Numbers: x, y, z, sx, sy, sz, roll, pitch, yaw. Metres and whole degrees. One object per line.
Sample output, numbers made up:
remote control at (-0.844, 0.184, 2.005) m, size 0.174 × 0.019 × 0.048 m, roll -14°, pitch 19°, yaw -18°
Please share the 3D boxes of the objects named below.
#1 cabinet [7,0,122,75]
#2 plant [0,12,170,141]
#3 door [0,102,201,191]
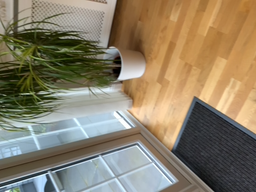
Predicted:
cabinet at (-0.480, -0.780, 1.760) m, size 0.170 × 0.900 × 1.220 m, roll 41°, pitch 126°, yaw 40°
plant at (-0.450, -0.200, 1.550) m, size 0.650 × 1.320 × 0.560 m, roll 39°, pitch 125°, yaw 41°
door at (-0.460, 0.620, 1.040) m, size 1.630 × 1.970 × 0.080 m, roll 43°, pitch 127°, yaw 39°
